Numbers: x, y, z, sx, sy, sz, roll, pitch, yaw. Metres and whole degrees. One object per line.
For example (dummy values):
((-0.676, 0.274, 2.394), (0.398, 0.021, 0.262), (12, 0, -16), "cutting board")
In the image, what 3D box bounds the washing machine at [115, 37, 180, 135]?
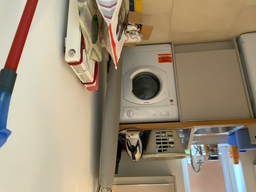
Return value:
((0.200, -0.070, 2.360), (0.580, 0.870, 0.650), (-3, 160, 5), "washing machine")
